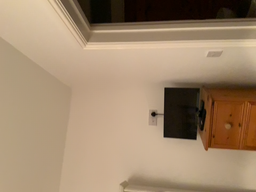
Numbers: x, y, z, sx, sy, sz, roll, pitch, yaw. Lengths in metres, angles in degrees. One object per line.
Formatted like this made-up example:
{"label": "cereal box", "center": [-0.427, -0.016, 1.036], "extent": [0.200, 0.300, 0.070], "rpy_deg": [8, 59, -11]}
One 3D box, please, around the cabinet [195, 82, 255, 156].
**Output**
{"label": "cabinet", "center": [1.210, 0.180, 1.850], "extent": [0.490, 1.100, 0.510], "rpy_deg": [-60, -30, -73]}
